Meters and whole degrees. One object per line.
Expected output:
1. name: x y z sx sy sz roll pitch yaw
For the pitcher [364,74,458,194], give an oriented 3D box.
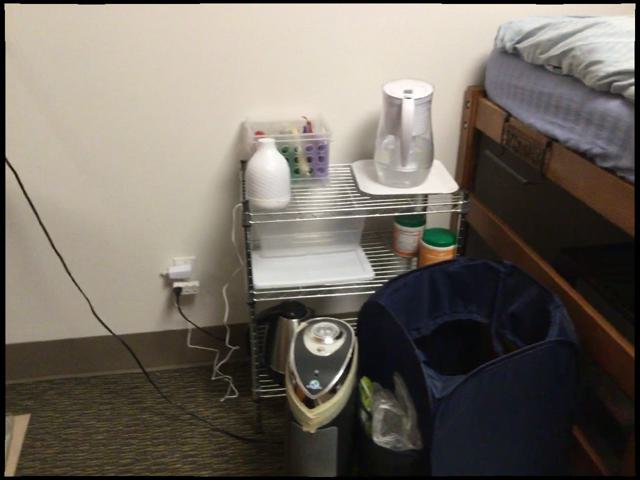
1. pitcher: 0.240 -0.301 1.600 0.160 0.250 0.250 -5 30 -11
